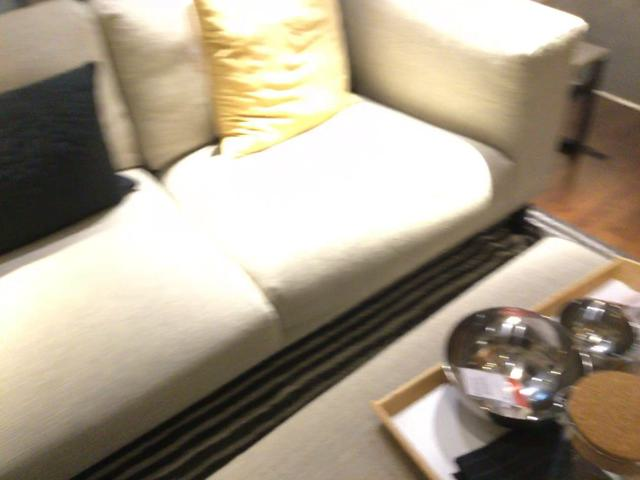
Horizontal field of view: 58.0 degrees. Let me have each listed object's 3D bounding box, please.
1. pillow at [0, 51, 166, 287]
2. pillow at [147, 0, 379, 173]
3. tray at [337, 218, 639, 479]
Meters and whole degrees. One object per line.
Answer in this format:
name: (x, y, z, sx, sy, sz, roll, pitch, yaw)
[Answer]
pillow: (-0.750, -0.120, 1.300, 0.670, 0.360, 0.240, -27, 43, -22)
pillow: (-0.130, -0.510, 1.570, 0.520, 0.430, 0.250, -27, 43, -22)
tray: (0.400, 0.230, 0.850, 0.620, 0.110, 0.410, -27, 43, -22)
